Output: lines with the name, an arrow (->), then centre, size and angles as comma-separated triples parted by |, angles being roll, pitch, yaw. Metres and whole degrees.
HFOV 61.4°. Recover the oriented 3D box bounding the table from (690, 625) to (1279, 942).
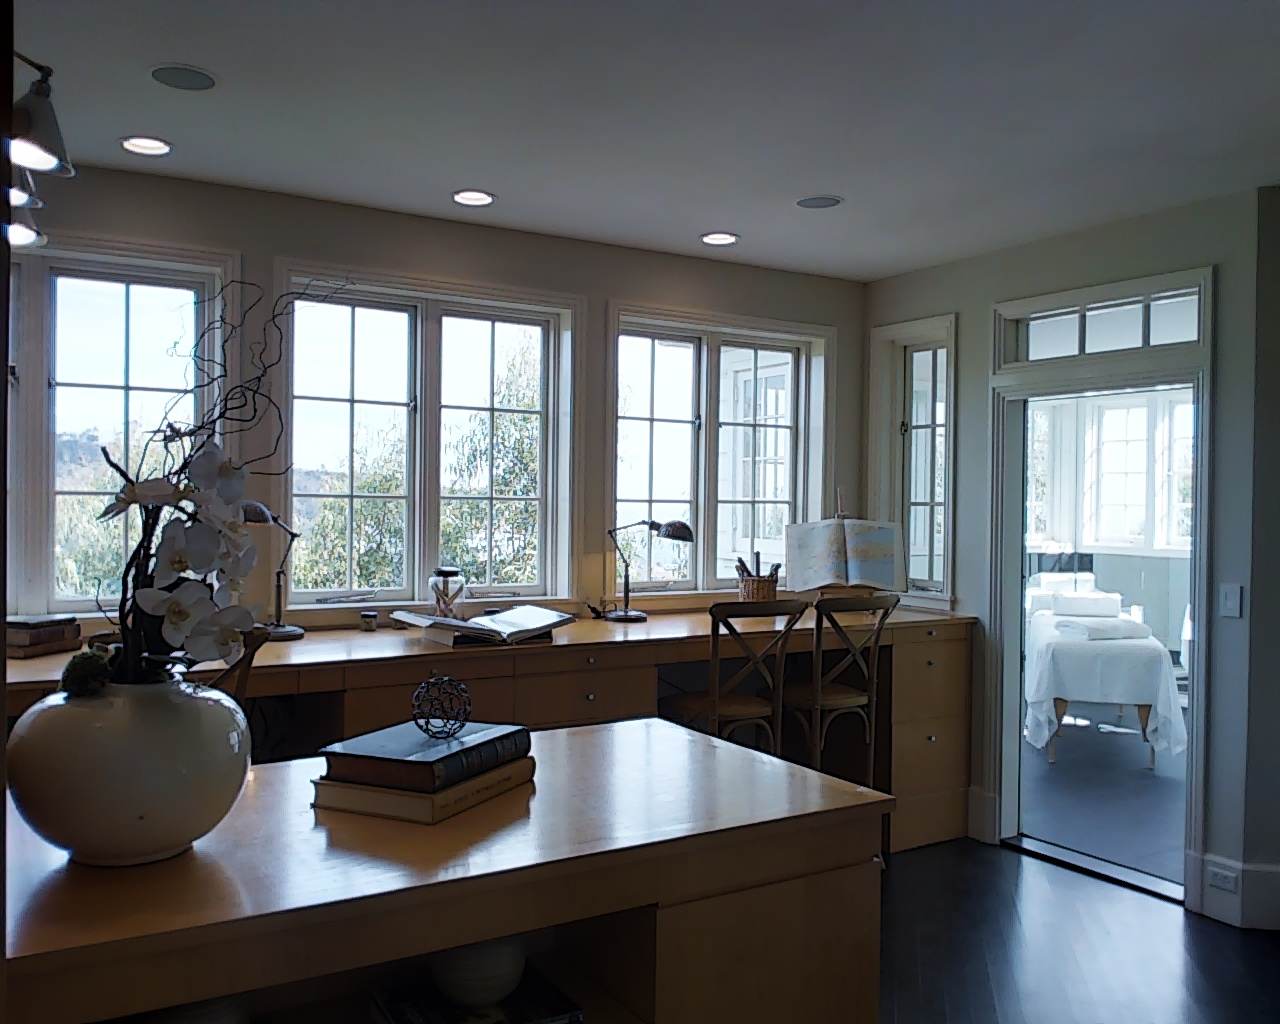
table -> 2.700, 1.320, 5.770 | 4.539, 1.060, 2.140 | 0, 1, 13
